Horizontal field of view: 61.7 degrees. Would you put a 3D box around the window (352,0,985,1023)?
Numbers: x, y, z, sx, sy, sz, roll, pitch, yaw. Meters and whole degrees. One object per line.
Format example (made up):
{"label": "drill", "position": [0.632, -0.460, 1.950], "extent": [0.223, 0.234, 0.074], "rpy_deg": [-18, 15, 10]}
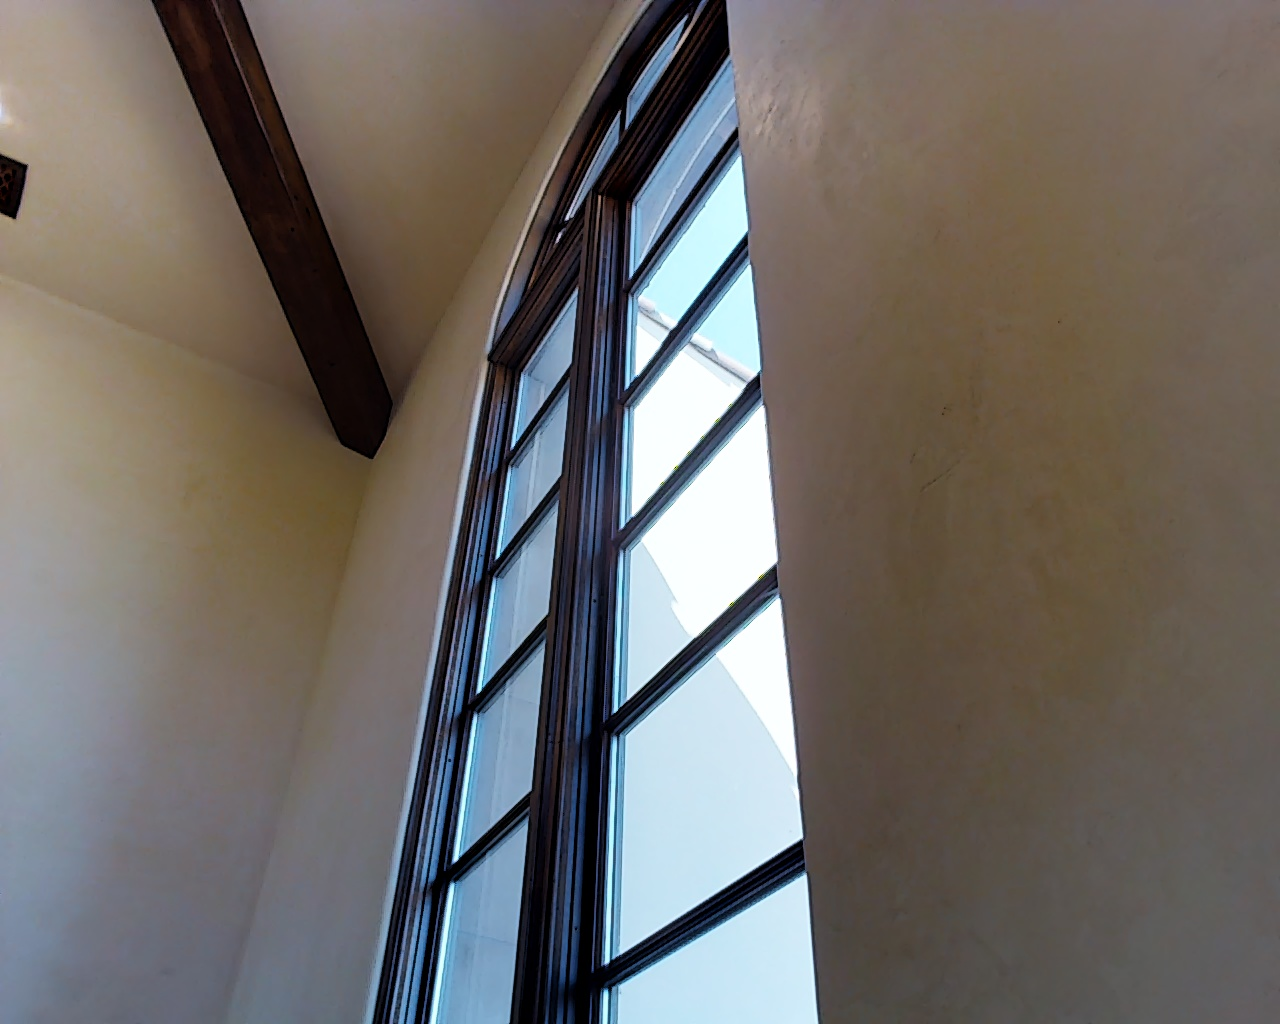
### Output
{"label": "window", "position": [-0.080, -0.040, 2.030], "extent": [0.190, 3.410, 1.290], "rpy_deg": [22, -46, -21]}
